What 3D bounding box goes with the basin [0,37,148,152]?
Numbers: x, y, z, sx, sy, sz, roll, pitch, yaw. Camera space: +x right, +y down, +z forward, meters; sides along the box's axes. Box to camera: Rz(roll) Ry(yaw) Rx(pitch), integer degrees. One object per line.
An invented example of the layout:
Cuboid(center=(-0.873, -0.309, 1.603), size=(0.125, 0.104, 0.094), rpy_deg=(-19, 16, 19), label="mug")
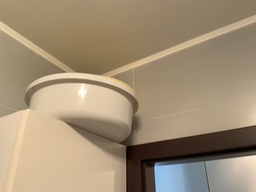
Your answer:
Cuboid(center=(-0.210, 0.050, 0.880), size=(0.420, 0.230, 0.440), rpy_deg=(-16, -30, 27), label="basin")
